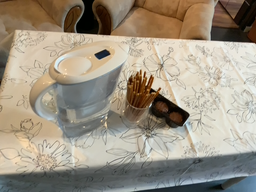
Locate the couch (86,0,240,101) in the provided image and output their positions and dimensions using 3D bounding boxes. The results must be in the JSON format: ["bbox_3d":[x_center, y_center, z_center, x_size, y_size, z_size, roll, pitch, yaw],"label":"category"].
[{"bbox_3d":[0.270,-0.750,1.720,0.840,0.990,0.960,20,49,3],"label":"couch"}]
